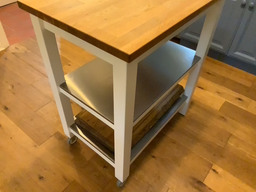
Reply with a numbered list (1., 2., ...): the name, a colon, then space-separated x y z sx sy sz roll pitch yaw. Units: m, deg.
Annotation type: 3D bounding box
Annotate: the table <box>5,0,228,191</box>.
1. table: 0.000 -0.120 1.200 0.590 0.890 0.790 30 50 24
